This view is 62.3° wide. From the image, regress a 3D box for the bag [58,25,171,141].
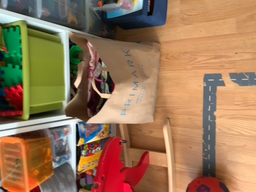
[{"bbox_3d":[-0.030,-0.060,1.060,0.310,0.530,0.410,3,94,31],"label":"bag"}]
